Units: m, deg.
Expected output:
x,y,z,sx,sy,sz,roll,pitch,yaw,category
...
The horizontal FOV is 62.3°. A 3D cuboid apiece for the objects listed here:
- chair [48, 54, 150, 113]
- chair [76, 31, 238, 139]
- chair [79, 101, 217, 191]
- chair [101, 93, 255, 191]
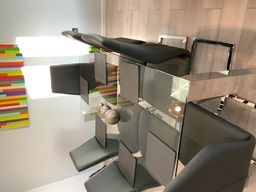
x,y,z,sx,sy,sz,roll,pitch,yaw,category
-0.340,-0.200,2.490,0.590,1.000,0.460,34,126,54,chair
0.200,-0.150,1.520,0.460,1.010,0.550,34,126,54,chair
0.160,0.440,1.750,0.440,1.000,0.540,35,127,54,chair
0.430,0.340,1.220,0.560,1.020,0.450,33,125,54,chair
